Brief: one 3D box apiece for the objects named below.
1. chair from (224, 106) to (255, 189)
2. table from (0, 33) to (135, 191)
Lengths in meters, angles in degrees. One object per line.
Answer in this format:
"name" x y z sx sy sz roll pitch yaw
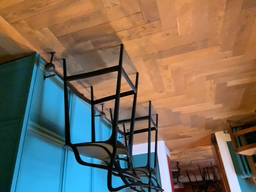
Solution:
"chair" 1.710 0.680 2.770 0.470 0.940 0.470 -27 146 36
"table" -0.540 0.600 2.110 0.610 1.100 2.150 -12 151 13
